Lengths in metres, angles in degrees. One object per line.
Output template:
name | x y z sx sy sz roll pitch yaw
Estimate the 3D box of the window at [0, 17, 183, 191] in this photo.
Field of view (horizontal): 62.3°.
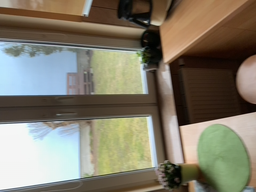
window | -0.470 0.080 1.420 0.140 1.700 1.190 146 121 -64
